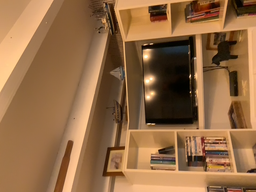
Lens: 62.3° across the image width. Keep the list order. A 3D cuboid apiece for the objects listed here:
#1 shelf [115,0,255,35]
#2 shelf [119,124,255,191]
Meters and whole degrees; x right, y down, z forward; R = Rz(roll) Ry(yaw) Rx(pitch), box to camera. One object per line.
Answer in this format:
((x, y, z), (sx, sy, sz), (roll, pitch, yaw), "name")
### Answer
((0.880, -0.860, 1.840), (0.240, 1.940, 0.460), (72, -160, -52), "shelf")
((0.940, 0.560, 1.890), (0.470, 1.940, 0.450), (72, -160, -52), "shelf")
